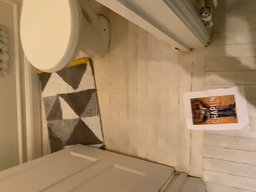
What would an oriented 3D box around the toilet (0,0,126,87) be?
[{"bbox_3d":[-0.440,-0.410,1.100,0.500,0.780,0.690,-3,91,28],"label":"toilet"}]
